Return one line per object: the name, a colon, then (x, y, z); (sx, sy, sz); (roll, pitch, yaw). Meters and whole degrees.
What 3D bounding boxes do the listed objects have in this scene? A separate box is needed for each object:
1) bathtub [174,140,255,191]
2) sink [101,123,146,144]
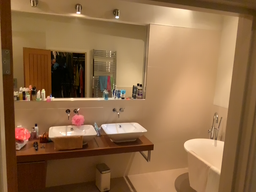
bathtub: (1.340, 1.140, 2.420); (0.830, 0.620, 1.740); (0, 10, -16)
sink: (-0.070, 0.500, 2.900); (0.540, 0.130, 0.370); (-1, 10, -16)
